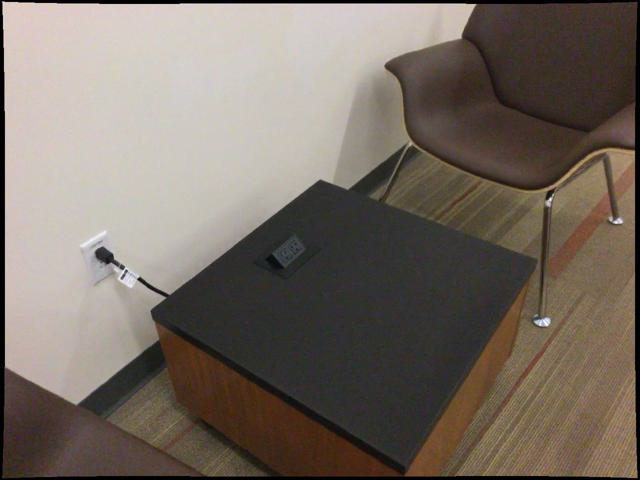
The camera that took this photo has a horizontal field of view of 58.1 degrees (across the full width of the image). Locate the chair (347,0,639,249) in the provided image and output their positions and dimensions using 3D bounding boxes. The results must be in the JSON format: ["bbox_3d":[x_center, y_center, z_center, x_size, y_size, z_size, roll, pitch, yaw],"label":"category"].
[{"bbox_3d":[0.668,-0.521,1.840,0.879,0.501,0.740,25,48,31],"label":"chair"}]
